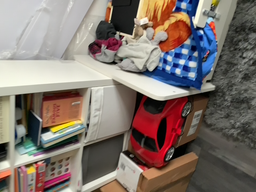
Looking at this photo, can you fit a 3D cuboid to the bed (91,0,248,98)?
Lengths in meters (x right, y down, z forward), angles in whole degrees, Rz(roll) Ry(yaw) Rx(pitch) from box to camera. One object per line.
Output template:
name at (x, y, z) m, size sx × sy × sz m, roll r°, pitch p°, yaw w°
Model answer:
bed at (0.270, -0.800, 1.180) m, size 0.770 × 0.410 × 1.400 m, roll 28°, pitch 115°, yaw 40°

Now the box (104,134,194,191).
box at (0.140, 0.560, 1.470) m, size 0.330 × 0.470 × 0.370 m, roll 29°, pitch 116°, yaw 40°
